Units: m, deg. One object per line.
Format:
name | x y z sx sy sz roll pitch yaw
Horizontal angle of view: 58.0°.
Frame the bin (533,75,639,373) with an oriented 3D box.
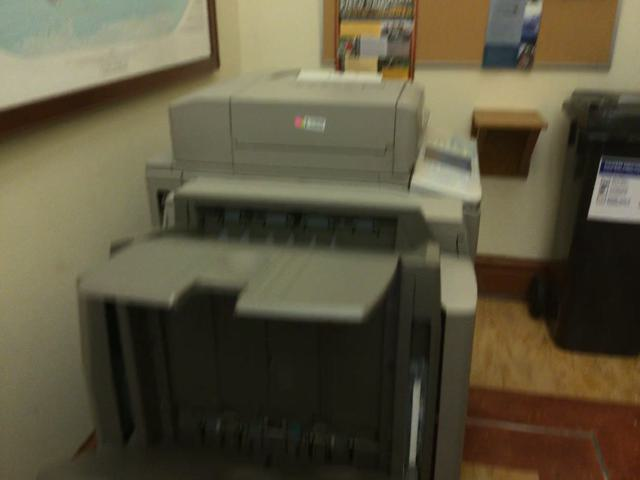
bin | 1.170 -0.070 2.240 0.470 1.030 0.490 5 23 12
